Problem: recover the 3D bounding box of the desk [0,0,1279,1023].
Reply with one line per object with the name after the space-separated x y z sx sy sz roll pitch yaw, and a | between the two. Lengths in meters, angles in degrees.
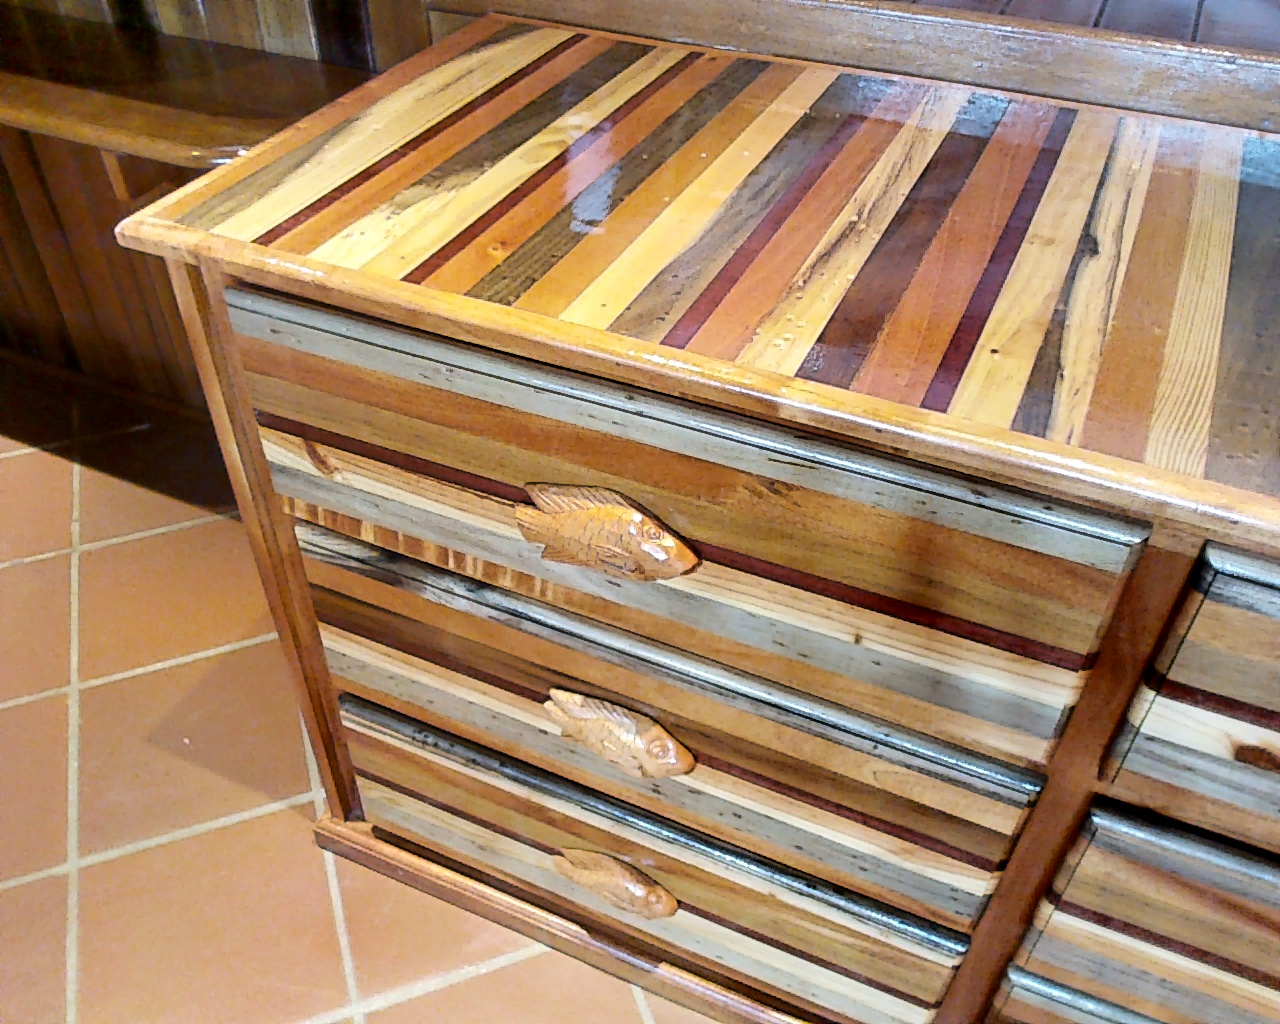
0.410 0.130 1.120 1.770 0.900 0.650 17 44 18 | desk
